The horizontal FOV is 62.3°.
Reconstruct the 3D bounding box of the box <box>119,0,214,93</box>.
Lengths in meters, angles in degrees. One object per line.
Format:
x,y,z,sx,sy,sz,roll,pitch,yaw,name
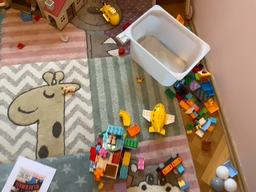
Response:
0.220,-0.310,1.320,0.330,0.190,0.450,-38,78,-18,box
